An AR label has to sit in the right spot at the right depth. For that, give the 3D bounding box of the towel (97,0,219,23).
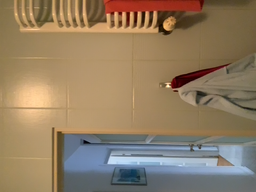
[{"bbox_3d":[0.120,-0.480,0.920,0.170,0.480,0.260,47,-137,-89],"label":"towel"}]

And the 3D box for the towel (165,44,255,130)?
[{"bbox_3d":[0.850,-0.040,0.960,0.200,1.320,0.350,-84,-6,-84],"label":"towel"}]

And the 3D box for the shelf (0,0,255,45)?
[{"bbox_3d":[0.140,-0.610,0.950,0.210,1.330,0.710,-75,-15,-88],"label":"shelf"}]
